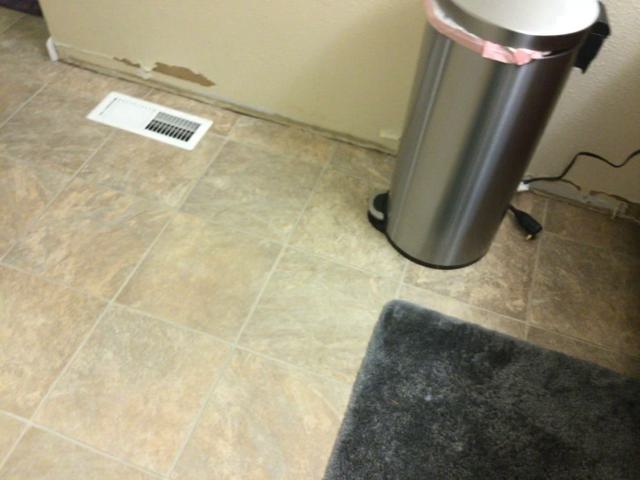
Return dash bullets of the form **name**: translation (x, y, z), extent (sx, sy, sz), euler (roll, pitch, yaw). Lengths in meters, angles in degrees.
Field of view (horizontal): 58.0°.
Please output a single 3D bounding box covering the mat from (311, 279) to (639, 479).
- **mat**: translation (0.270, 0.570, 1.020), extent (0.630, 0.070, 0.990), euler (20, 53, 10)
